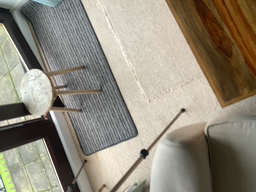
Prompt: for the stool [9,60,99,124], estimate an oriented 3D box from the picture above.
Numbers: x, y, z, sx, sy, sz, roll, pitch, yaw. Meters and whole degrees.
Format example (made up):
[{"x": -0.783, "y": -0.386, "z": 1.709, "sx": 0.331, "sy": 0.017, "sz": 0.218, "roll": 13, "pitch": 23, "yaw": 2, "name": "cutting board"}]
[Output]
[{"x": -0.510, "y": -0.040, "z": 1.520, "sx": 0.310, "sy": 0.440, "sz": 0.300, "roll": -29, "pitch": 82, "yaw": 29, "name": "stool"}]
